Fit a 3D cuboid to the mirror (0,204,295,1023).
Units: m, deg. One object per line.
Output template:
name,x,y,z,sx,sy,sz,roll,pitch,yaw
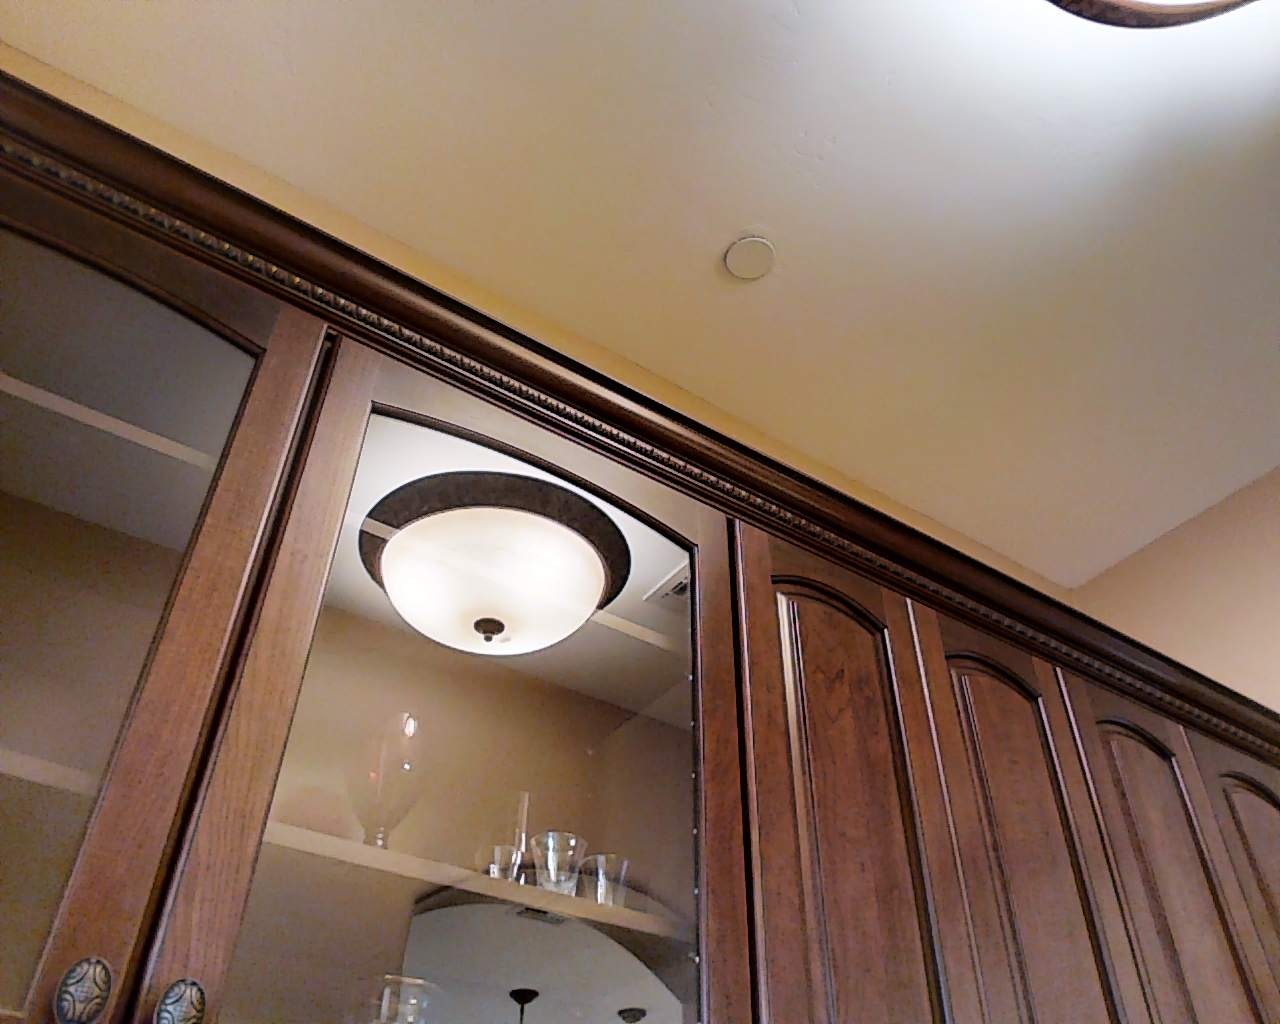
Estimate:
mirror,-0.550,0.010,0.800,0.420,0.630,0.090,24,-46,-24
